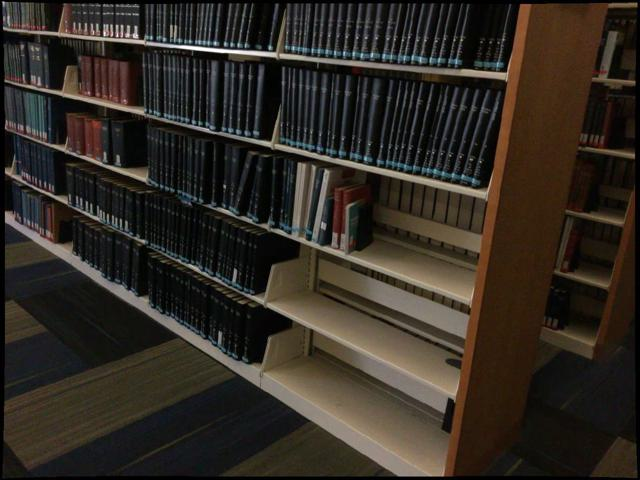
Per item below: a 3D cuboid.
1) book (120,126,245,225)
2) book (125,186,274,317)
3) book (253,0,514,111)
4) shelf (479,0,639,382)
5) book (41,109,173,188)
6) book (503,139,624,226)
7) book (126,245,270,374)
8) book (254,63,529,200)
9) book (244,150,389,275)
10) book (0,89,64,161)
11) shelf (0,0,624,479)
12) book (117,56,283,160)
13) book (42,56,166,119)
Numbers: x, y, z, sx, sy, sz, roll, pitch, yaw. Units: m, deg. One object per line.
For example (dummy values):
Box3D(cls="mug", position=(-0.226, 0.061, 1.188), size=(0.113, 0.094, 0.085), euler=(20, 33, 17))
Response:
Box3D(cls="book", position=(-0.658, -0.321, 2.690), size=(0.769, 0.311, 0.150), euler=(19, 25, 39))
Box3D(cls="book", position=(-0.608, 0.020, 2.770), size=(0.989, 0.361, 0.130), euler=(19, 25, 39))
Box3D(cls="book", position=(0.140, -0.682, 1.900), size=(0.979, 0.391, 0.100), euler=(19, 25, 39))
Box3D(cls="shelf", position=(1.486, -0.571, 2.980), size=(0.759, 2.365, 0.669), euler=(19, 24, 39))
Box3D(cls="book", position=(-1.267, -0.561, 3.370), size=(0.979, 0.291, 0.280), euler=(19, 25, 39))
Box3D(cls="book", position=(1.317, -0.331, 3.110), size=(0.400, 0.331, 0.509), euler=(19, 25, 39))
Box3D(cls="book", position=(-0.638, 0.311, 2.870), size=(0.989, 0.311, 0.140), euler=(19, 25, 39))
Box3D(cls="book", position=(0.180, -0.421, 2.030), size=(1.009, 0.331, 0.210), euler=(19, 25, 39))
Box3D(cls="book", position=(-0.030, -0.130, 2.300), size=(0.519, 0.351, 0.270), euler=(19, 25, 39))
Box3D(cls="book", position=(-2.085, -0.812, 3.900), size=(1.159, 0.351, 0.150), euler=(19, 25, 39))
Box3D(cls="shelf", position=(-0.768, -0.752, 3.060), size=(4.045, 2.315, 0.799), euler=(19, 25, 39))
Box3D(cls="book", position=(-0.578, -0.622, 2.590), size=(1.039, 0.341, 0.130), euler=(19, 25, 39))
Box3D(cls="book", position=(-1.257, -0.892, 3.310), size=(0.869, 0.271, 0.280), euler=(19, 25, 39))
